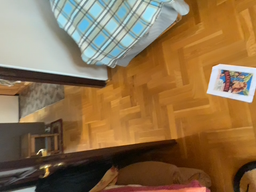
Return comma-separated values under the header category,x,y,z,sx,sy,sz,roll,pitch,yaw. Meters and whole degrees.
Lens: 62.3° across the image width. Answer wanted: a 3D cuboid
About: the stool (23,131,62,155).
category,x,y,z,sx,sy,sz,roll,pitch,yaw
stool,-1.240,0.670,3.080,0.290,0.450,0.280,-10,80,46
